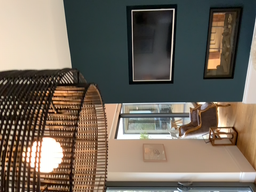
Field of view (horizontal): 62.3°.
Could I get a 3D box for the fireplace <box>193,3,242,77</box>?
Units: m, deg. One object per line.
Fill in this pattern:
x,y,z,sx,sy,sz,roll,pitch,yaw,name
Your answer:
1.230,-0.790,3.010,0.400,0.430,0.940,-85,-6,-69,fireplace
